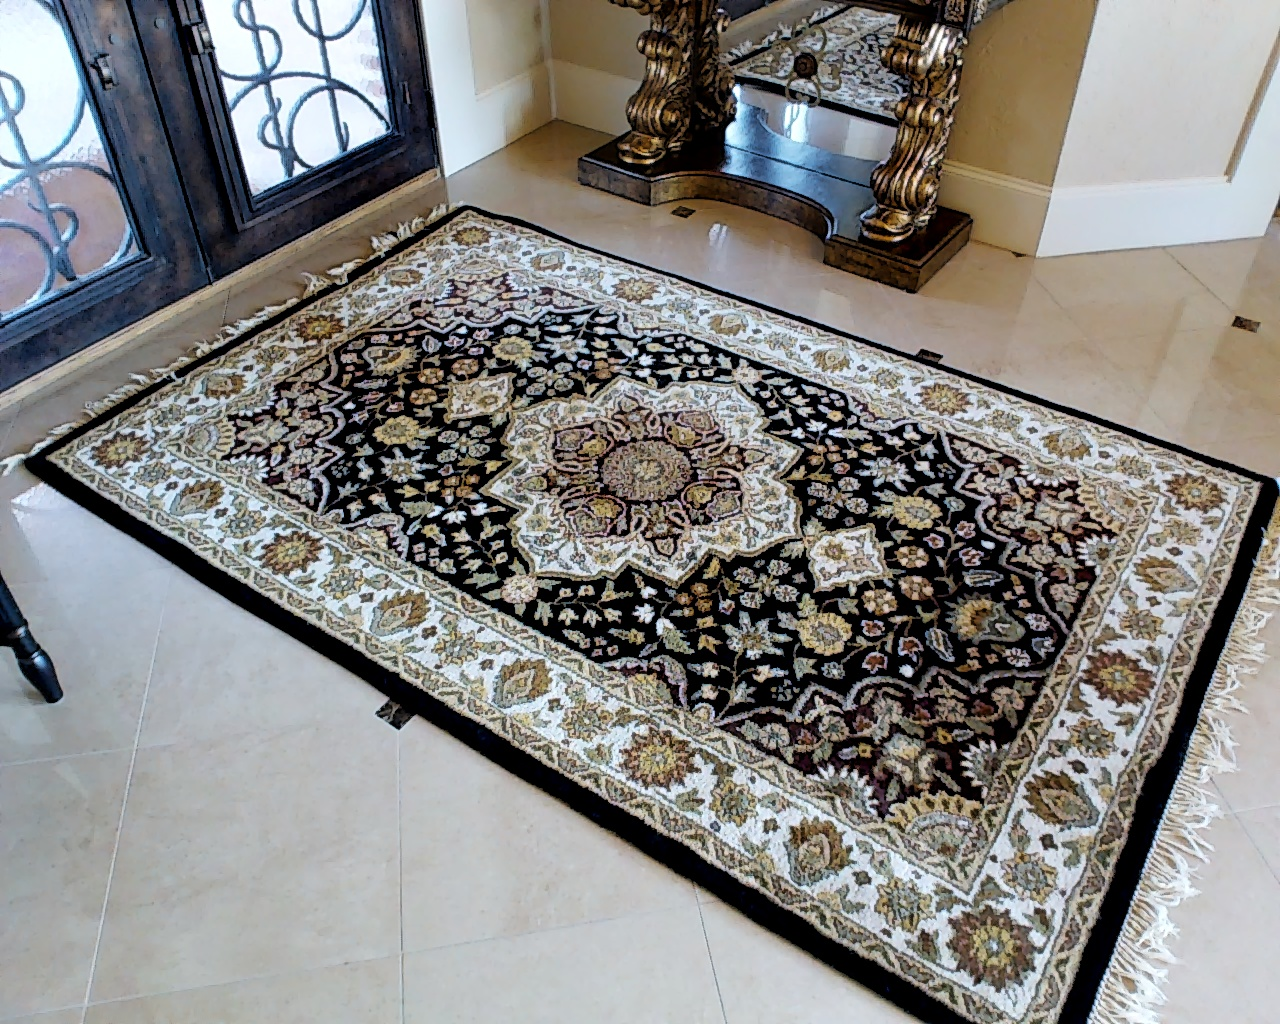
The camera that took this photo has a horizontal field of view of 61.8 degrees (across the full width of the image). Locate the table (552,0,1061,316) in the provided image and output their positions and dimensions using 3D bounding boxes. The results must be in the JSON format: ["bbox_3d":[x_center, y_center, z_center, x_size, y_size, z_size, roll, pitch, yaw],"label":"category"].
[{"bbox_3d":[0.410,-1.260,3.030,1.310,0.940,0.450,25,48,25],"label":"table"}]
